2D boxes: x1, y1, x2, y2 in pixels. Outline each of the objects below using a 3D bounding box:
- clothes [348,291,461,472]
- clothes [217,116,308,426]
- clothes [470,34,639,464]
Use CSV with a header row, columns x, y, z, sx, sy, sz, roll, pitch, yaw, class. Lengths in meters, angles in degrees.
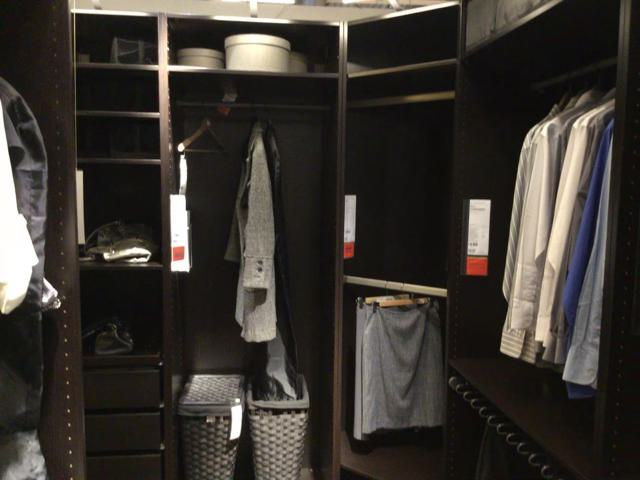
x,y,z,sx,sy,sz,roll,pitch,yaw,class
0.360,0.610,2.620,0.420,0.690,0.440,0,5,-2,clothes
-0.270,0.130,2.710,0.380,1.340,0.430,0,5,-6,clothes
0.700,0.010,1.640,0.300,0.980,0.630,0,5,-6,clothes
